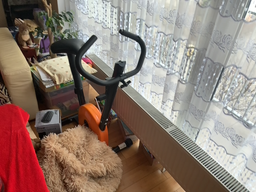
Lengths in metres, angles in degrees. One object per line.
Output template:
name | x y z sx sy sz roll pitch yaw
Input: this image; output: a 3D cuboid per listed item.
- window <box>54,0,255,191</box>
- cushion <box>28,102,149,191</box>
window | 0.380 -0.410 1.050 0.260 2.510 3.730 -20 45 -30
cushion | -0.280 0.410 1.440 0.570 0.320 0.570 -18 44 -28
